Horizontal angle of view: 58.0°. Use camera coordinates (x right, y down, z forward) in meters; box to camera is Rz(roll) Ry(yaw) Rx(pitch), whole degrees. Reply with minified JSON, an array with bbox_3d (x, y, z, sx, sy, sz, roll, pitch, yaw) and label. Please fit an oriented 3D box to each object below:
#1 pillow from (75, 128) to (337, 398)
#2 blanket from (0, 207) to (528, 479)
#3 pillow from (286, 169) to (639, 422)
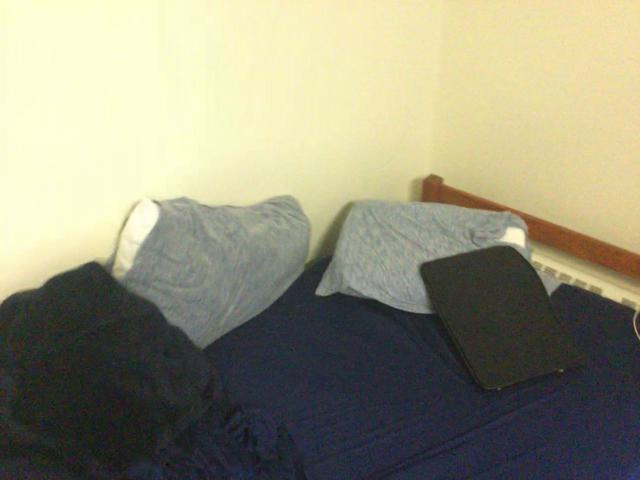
[{"bbox_3d":[-0.230,0.030,1.420,0.180,0.420,0.570,24,42,39],"label":"pillow"},{"bbox_3d":[-0.330,0.410,0.910,0.900,0.380,0.880,24,42,39],"label":"blanket"},{"bbox_3d":[0.380,0.070,1.550,0.760,0.160,0.560,24,41,39],"label":"pillow"}]
